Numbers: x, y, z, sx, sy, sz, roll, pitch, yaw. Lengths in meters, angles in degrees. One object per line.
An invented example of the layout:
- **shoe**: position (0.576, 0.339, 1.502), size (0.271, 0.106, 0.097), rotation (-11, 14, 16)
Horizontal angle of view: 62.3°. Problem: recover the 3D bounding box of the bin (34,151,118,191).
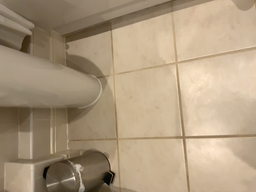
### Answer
- **bin**: position (-0.220, 0.360, 0.950), size (0.220, 0.290, 0.180), rotation (-7, 82, 27)
